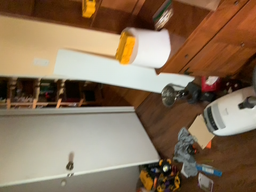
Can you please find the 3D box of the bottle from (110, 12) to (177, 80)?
[{"bbox_3d":[0.070,-0.250,1.120,0.210,0.230,0.250,-49,48,51],"label":"bottle"}]

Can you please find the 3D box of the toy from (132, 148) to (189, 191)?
[{"bbox_3d":[0.310,0.930,2.260,0.650,0.160,0.460,-61,39,42],"label":"toy"}]

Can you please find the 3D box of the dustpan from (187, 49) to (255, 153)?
[{"bbox_3d":[0.770,0.050,1.360,0.680,0.290,0.400,-50,47,50],"label":"dustpan"}]
